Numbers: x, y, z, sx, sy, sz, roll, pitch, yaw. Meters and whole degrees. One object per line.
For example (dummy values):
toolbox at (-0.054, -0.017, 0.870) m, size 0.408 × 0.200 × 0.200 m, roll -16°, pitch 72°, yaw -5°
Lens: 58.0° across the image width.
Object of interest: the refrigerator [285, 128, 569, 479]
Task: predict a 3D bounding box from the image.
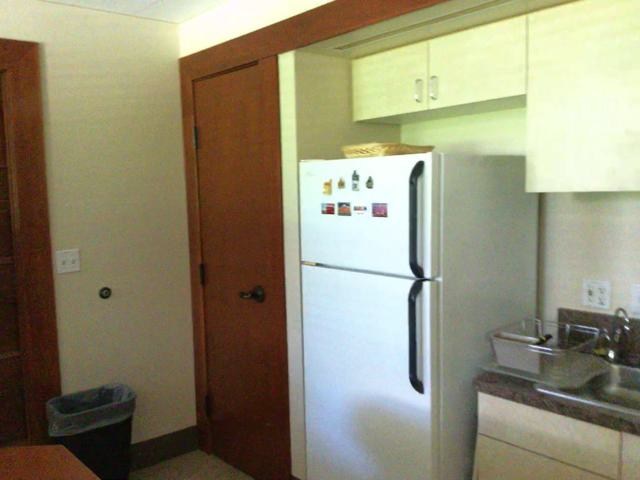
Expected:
refrigerator at (0.440, 0.440, 2.470) m, size 0.760 × 1.670 × 0.870 m, roll -5°, pitch 4°, yaw -36°

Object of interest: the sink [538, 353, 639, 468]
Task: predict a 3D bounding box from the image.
sink at (1.060, 0.520, 1.760) m, size 0.550 × 0.160 × 0.520 m, roll -5°, pitch 4°, yaw -36°
